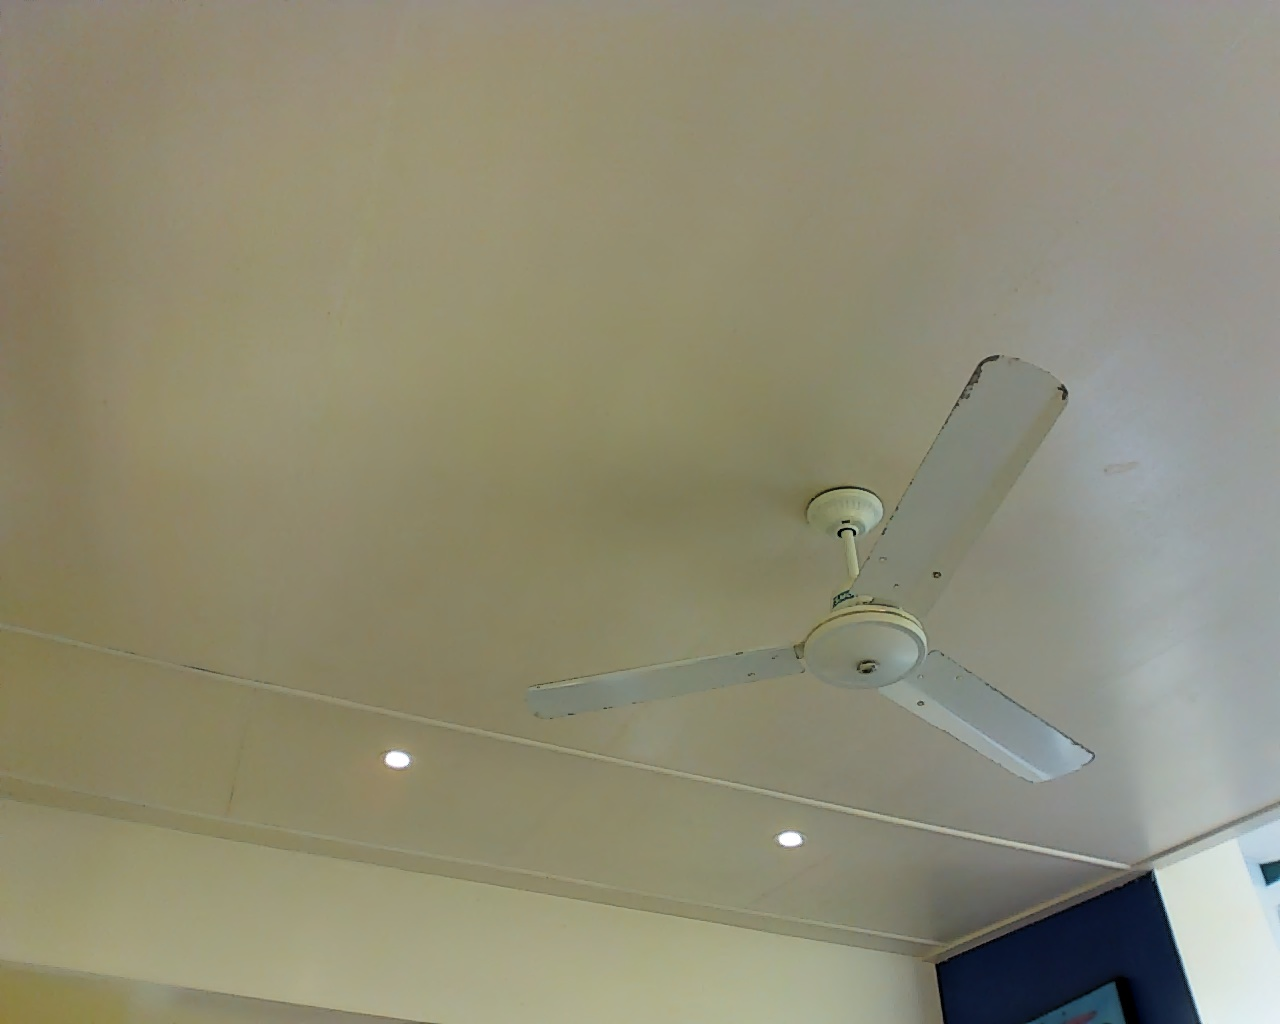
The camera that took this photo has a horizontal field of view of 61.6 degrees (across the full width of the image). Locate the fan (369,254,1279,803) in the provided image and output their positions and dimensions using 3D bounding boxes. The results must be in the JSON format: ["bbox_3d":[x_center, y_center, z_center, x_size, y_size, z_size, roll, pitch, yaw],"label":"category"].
[{"bbox_3d":[0.410,0.200,1.890,1.199,0.290,1.260,-18,-23,16],"label":"fan"}]
